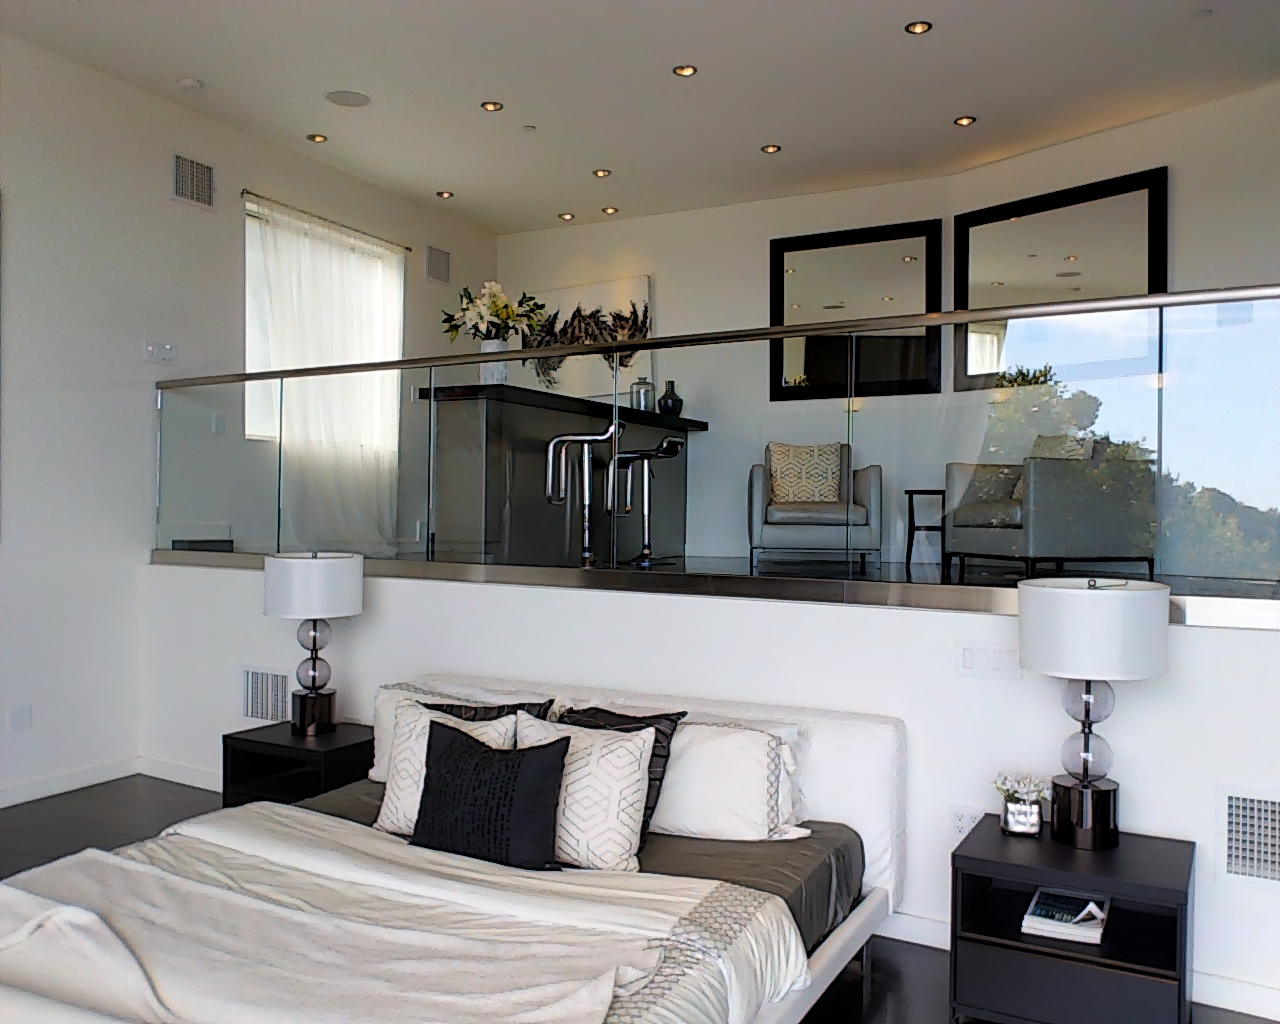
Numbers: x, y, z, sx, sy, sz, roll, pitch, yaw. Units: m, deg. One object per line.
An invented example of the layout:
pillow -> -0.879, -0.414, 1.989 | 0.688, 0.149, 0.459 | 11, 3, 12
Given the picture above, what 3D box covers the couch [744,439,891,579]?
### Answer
couch -> 1.150, -0.020, 7.140 | 0.890, 0.860, 0.910 | 1, 0, 6
